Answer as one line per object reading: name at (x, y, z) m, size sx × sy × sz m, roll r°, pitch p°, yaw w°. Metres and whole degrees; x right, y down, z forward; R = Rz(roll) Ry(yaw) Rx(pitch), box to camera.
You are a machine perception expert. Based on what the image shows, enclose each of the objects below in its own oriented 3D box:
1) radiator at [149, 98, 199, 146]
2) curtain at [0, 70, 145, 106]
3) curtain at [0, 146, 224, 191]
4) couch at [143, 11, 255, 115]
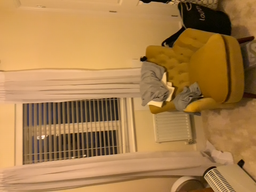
radiator at (0.510, 0.280, 2.370) m, size 0.080 × 0.520 × 0.490 m, roll 153°, pitch 113°, yaw -73°
curtain at (-0.600, -0.090, 2.150) m, size 0.110 × 1.580 × 0.330 m, roll 157°, pitch 111°, yaw -74°
curtain at (-0.120, 0.730, 2.010) m, size 0.240 × 2.220 × 0.280 m, roll 159°, pitch 109°, yaw -74°
couch at (0.630, -0.230, 1.960) m, size 0.690 × 0.740 × 0.740 m, roll 155°, pitch 112°, yaw -73°
